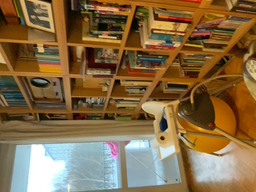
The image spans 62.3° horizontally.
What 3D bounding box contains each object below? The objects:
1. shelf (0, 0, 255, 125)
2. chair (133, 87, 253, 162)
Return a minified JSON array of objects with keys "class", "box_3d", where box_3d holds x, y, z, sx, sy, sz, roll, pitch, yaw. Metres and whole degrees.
[{"class":"shelf","box_3d":[0.030,-0.740,1.050,4.330,2.490,0.430,116,153,-62]},{"class":"chair","box_3d":[0.570,0.300,2.110,0.580,0.880,0.540,114,154,-60]}]
